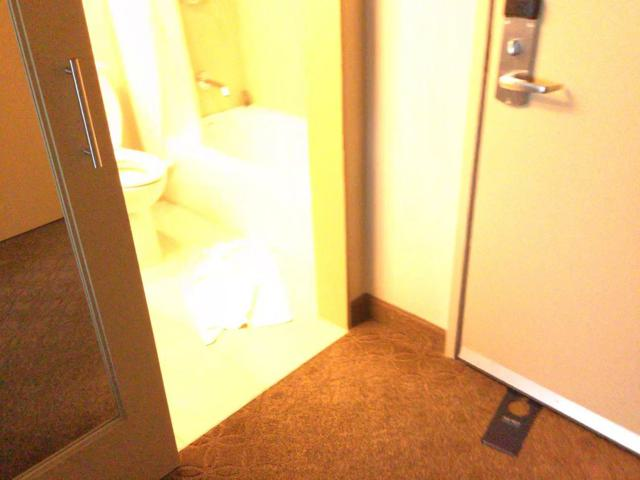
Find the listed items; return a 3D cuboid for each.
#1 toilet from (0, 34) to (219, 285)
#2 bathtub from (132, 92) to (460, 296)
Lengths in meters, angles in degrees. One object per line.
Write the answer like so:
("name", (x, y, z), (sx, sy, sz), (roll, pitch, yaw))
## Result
("toilet", (-0.910, -0.390, 2.520), (0.780, 0.860, 0.440), (22, 36, 38))
("bathtub", (-0.150, -0.330, 2.850), (1.370, 0.450, 0.840), (22, 36, 38))
